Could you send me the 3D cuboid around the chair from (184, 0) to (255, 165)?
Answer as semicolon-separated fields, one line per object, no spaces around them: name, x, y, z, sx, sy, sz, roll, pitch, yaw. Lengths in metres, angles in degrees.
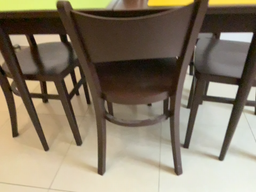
chair;0.530;-0.110;0.970;0.420;0.780;0.390;7;38;14

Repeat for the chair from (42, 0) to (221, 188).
chair;0.020;-0.050;0.920;0.420;0.780;0.480;-3;37;0
